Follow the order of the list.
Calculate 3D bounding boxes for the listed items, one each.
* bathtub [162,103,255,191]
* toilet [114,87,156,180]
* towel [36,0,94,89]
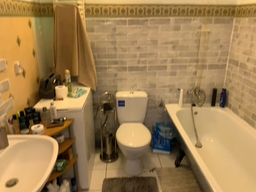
[{"bbox_3d":[0.820,0.640,1.840,0.690,0.570,1.670,-1,20,-2],"label":"bathtub"},{"bbox_3d":[0.050,0.360,2.270,0.360,0.750,0.670,0,20,-2],"label":"toilet"},{"bbox_3d":[-0.590,-0.510,2.110,0.430,0.830,0.270,-1,20,-2],"label":"towel"}]
